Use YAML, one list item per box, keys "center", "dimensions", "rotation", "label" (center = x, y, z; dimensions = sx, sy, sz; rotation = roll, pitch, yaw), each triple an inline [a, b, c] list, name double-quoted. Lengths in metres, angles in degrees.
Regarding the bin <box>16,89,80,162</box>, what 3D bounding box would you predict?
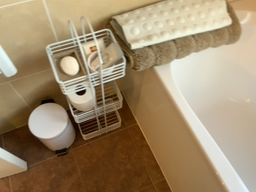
- center: [-0.380, 0.150, 1.040]
  dimensions: [0.190, 0.240, 0.240]
  rotation: [-19, 66, -14]
  label: "bin"
